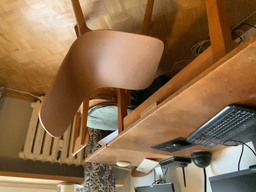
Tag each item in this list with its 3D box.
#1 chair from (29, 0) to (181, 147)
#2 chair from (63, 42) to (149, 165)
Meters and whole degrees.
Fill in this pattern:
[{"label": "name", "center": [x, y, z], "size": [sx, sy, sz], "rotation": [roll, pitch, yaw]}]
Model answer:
[{"label": "chair", "center": [-0.090, -0.180, 1.140], "size": [0.530, 0.780, 0.480], "rotation": [1, 151, -2]}, {"label": "chair", "center": [-0.170, 0.080, 1.630], "size": [0.450, 0.760, 0.440], "rotation": [14, 148, -24]}]
